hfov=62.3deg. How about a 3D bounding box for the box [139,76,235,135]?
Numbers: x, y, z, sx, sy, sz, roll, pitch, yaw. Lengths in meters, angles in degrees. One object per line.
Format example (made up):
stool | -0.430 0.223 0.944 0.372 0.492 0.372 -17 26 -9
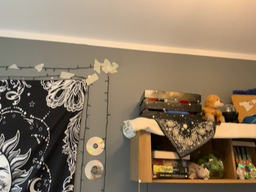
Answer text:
box | 0.360 0.080 1.410 0.530 0.300 0.280 4 -19 -7
